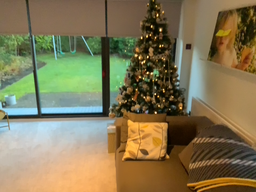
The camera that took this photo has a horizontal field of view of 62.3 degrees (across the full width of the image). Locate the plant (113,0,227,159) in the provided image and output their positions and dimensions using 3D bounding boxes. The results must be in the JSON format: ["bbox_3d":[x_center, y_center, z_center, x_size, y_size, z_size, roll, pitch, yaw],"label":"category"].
[{"bbox_3d":[0.380,-0.310,2.930,1.150,1.980,1.080,1,17,-5],"label":"plant"}]

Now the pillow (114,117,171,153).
[{"bbox_3d":[0.130,0.420,2.230,0.520,0.430,0.180,3,53,-4],"label":"pillow"}]

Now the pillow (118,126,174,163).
[{"bbox_3d":[0.140,0.470,2.020,0.460,0.420,0.200,1,55,-5],"label":"pillow"}]
